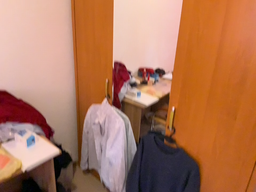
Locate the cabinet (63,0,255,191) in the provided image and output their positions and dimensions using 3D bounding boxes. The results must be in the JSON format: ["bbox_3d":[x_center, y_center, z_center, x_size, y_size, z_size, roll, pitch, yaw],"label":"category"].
[{"bbox_3d":[0.280,-0.050,1.670,1.580,2.040,0.750,24,30,38],"label":"cabinet"}]
